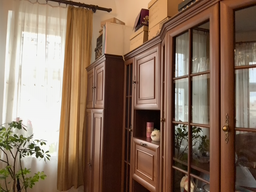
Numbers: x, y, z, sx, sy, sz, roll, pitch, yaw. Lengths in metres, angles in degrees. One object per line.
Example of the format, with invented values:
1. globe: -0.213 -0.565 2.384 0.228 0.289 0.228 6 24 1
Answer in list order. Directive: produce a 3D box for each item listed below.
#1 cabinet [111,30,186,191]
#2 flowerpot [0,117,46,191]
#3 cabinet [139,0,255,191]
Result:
1. cabinet: 0.160 0.290 2.110 0.370 1.600 0.810 2 -3 -24
2. flowerpot: -1.290 0.980 2.440 0.560 1.410 1.020 2 -3 -23
3. cabinet: 0.470 0.260 1.320 0.440 1.600 0.890 2 -3 -24
